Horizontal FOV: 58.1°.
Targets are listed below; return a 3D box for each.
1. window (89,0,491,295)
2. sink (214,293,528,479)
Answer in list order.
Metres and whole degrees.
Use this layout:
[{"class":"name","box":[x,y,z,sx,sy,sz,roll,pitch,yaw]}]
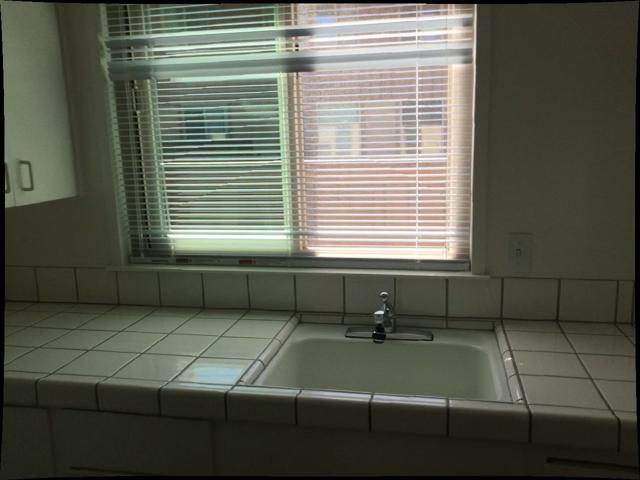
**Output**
[{"class":"window","box":[-0.100,-0.441,1.760,1.148,1.122,0.220,3,15,12]},{"class":"sink","box":[0.150,0.391,1.500,0.649,0.280,0.590,3,15,12]}]
